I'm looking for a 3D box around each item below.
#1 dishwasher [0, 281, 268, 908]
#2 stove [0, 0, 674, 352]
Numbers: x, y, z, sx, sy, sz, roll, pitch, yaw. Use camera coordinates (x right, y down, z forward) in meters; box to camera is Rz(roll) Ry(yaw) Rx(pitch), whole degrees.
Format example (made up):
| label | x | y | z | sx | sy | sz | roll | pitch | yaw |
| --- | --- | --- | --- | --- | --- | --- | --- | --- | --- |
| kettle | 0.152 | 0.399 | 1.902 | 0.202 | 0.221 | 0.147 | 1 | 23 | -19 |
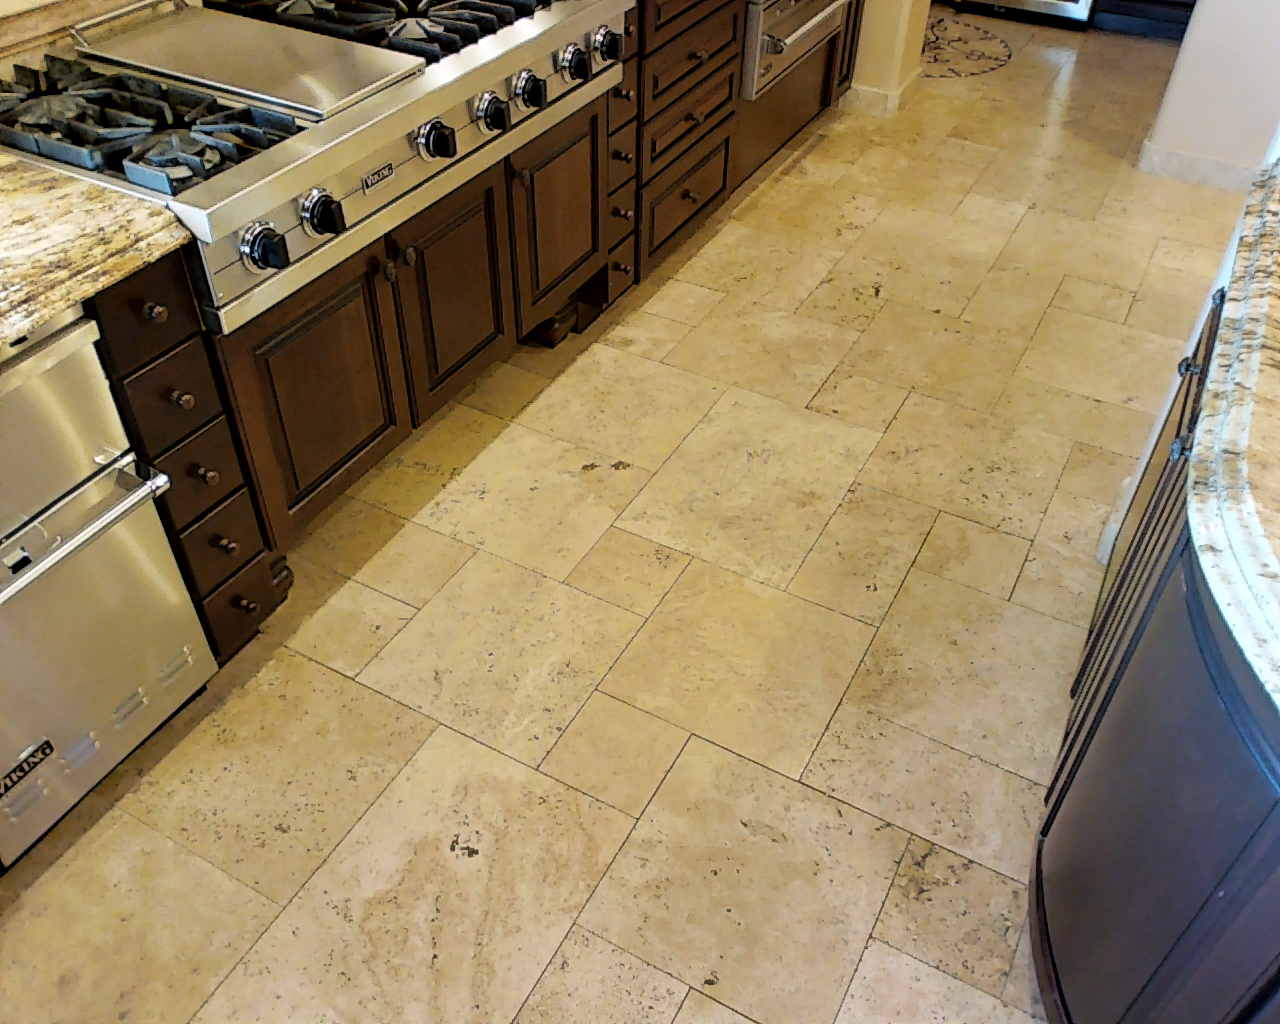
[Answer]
| label | x | y | z | sx | sy | sz | roll | pitch | yaw |
| --- | --- | --- | --- | --- | --- | --- | --- | --- | --- |
| dishwasher | -0.830 | 0.140 | 1.520 | 0.120 | 0.780 | 0.490 | 21 | 45 | 20 |
| stove | -0.550 | -0.800 | 2.000 | 0.720 | 0.220 | 1.280 | 21 | 45 | 20 |
